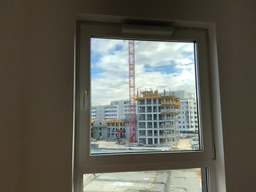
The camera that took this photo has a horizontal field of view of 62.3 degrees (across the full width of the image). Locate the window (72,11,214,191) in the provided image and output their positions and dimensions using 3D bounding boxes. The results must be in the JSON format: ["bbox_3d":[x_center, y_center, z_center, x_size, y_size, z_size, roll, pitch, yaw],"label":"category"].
[{"bbox_3d":[0.140,0.540,1.580,1.070,2.320,0.060,1,-6,-13],"label":"window"}]
